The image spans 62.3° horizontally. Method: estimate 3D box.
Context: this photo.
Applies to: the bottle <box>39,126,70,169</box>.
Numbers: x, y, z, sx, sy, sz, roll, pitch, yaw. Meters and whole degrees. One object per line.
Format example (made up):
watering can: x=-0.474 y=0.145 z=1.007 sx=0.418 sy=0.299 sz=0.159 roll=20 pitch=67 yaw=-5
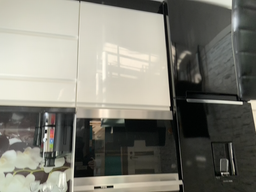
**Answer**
bottle: x=-0.550 y=0.390 z=1.610 sx=0.190 sy=0.300 sz=0.200 roll=3 pitch=163 yaw=-16
